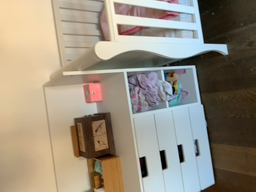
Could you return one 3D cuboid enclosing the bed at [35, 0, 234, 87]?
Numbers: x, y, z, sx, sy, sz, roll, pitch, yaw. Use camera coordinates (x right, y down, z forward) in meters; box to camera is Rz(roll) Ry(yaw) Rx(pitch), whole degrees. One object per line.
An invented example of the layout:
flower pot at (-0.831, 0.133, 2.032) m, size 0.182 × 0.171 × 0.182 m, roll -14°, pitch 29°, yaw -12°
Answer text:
bed at (-0.020, -0.880, 1.480) m, size 0.750 × 1.070 × 1.460 m, roll -9°, pitch 89°, yaw 56°
